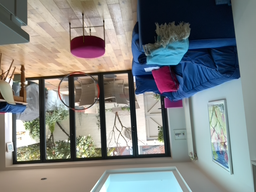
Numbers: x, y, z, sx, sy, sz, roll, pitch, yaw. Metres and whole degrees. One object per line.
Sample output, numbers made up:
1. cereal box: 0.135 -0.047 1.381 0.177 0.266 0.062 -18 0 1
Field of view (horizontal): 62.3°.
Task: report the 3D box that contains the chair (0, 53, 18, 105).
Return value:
1. chair: -2.250 -0.270 3.650 0.500 0.800 0.420 -3 174 -1
